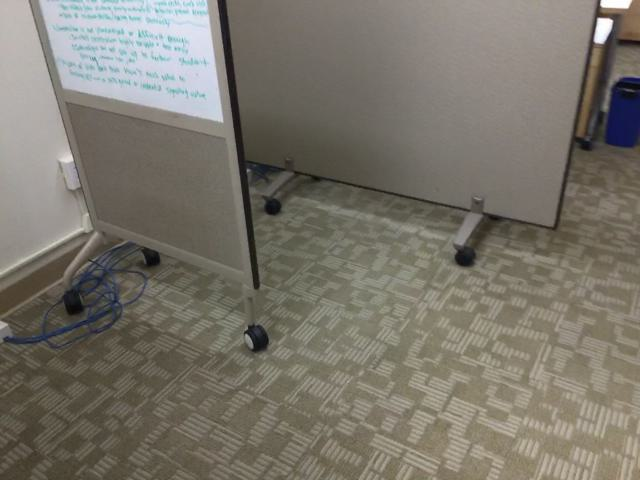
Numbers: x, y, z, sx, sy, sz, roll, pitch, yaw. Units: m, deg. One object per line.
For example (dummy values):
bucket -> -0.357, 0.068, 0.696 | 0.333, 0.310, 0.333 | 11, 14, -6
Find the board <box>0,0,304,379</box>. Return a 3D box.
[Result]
board -> -0.500, -0.350, 1.680 | 0.790, 1.350, 0.380 | 15, 33, 25

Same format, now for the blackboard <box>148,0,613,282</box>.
blackboard -> 0.140, -0.540, 2.300 | 1.670, 0.960, 0.380 | 14, 33, 24
